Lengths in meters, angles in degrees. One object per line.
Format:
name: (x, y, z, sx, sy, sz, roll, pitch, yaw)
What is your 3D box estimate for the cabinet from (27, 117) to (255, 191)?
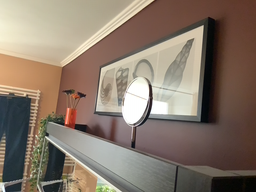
cabinet: (-0.170, 0.390, 0.970, 0.320, 0.480, 1.460, 11, -8, -30)
